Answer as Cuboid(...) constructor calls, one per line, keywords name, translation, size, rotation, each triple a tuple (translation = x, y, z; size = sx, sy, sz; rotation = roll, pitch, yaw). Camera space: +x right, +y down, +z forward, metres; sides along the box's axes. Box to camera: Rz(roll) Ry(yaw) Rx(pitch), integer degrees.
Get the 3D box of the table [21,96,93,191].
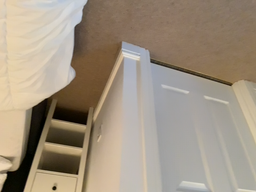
Cuboid(name="table", translation=(-0.530, 0.500, 1.630), size=(0.340, 0.790, 0.530), rotation=(12, 138, -15))
